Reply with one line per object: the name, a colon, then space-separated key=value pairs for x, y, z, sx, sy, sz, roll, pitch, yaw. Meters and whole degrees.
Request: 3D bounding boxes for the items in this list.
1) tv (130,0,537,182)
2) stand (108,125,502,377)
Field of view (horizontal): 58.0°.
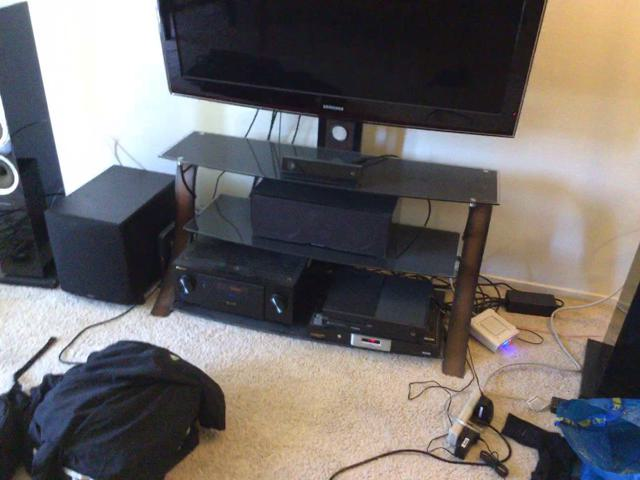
tv: x=0.020 y=-0.630 z=1.710 sx=1.150 sy=0.890 sz=0.200 roll=0 pitch=4 yaw=11
stand: x=-0.030 y=-0.020 z=2.080 sx=1.210 sy=0.620 sz=0.560 roll=6 pitch=21 yaw=12
